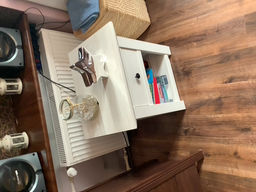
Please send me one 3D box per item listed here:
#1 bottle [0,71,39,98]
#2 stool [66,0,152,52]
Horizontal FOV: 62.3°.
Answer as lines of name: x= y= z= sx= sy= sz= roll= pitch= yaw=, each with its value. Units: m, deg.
bottle: x=-0.840 y=-0.080 z=1.570 sx=0.210 sy=0.250 sz=0.150 roll=-16 pitch=82 yaw=43
stool: x=-0.150 y=-0.580 z=1.680 sx=0.420 sy=0.480 sz=0.250 roll=-22 pitch=78 yaw=42
